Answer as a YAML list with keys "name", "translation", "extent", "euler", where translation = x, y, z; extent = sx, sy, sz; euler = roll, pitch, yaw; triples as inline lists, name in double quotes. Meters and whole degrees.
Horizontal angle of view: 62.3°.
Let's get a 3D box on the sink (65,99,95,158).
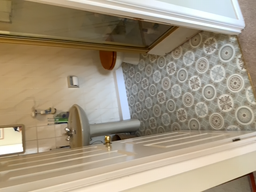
- name: "sink"
  translation: [-0.570, 0.390, 2.440]
  extent: [0.460, 0.140, 0.600]
  euler: [-30, 66, 56]
